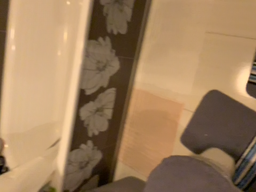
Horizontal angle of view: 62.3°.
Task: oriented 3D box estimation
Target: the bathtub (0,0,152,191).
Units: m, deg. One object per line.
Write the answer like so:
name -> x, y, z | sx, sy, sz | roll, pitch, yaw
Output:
bathtub -> -0.380, -0.320, 1.380 | 0.740, 0.540, 1.960 | 20, 105, 32
